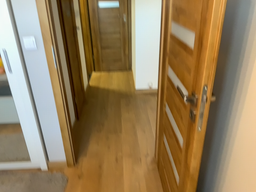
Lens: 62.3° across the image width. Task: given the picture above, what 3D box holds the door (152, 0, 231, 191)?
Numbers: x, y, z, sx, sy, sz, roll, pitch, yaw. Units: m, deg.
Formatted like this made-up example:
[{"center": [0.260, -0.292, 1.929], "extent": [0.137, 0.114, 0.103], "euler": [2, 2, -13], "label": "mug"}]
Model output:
[{"center": [0.280, -0.030, 1.320], "extent": [0.140, 2.070, 0.950], "euler": [1, 26, 3], "label": "door"}]
